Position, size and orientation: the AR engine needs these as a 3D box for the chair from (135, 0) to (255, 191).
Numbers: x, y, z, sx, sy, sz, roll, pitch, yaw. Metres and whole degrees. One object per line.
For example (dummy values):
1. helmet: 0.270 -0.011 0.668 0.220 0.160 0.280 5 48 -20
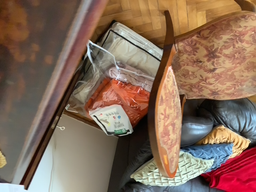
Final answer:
1. chair: 0.370 -0.110 0.930 0.520 0.870 0.420 -10 129 16

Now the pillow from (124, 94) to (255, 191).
1. pillow: 0.390 0.380 1.250 0.600 0.270 0.560 27 129 -16
